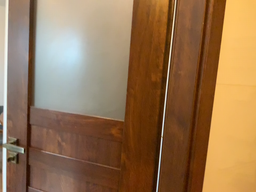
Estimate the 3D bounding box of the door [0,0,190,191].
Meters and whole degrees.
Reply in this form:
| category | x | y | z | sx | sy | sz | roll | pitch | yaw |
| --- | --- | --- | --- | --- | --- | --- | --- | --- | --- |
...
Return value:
| category | x | y | z | sx | sy | sz | roll | pitch | yaw |
| --- | --- | --- | --- | --- | --- | --- | --- | --- | --- |
| door | -0.240 | 0.320 | 0.910 | 0.820 | 2.220 | 0.060 | 7 | 7 | 20 |
